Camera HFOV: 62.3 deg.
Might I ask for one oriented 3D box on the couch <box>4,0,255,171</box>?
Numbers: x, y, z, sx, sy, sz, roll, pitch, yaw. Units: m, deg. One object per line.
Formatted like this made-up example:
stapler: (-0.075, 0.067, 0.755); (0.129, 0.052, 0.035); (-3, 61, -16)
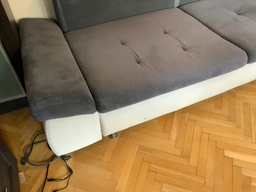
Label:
couch: (0.560, -0.540, 1.610); (2.500, 0.730, 1.000); (-19, 46, -16)
